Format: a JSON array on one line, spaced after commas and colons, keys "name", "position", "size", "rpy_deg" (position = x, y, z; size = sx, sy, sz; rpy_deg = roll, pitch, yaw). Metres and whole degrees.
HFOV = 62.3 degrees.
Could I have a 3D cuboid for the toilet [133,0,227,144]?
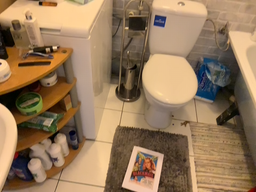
[{"name": "toilet", "position": [0.280, -0.170, 1.470], "size": [0.360, 0.750, 0.650], "rpy_deg": [8, 47, 1]}]
